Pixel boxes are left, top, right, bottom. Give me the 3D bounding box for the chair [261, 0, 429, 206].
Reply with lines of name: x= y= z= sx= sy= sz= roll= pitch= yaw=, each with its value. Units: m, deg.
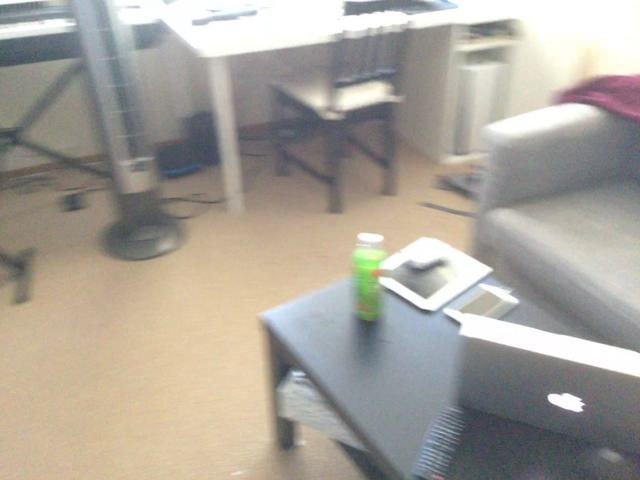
chair: x=0.080 y=-0.660 z=2.400 sx=0.460 sy=0.800 sz=0.530 roll=-15 pitch=37 yaw=-19
